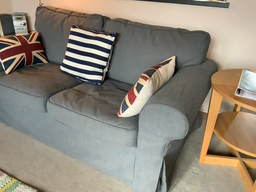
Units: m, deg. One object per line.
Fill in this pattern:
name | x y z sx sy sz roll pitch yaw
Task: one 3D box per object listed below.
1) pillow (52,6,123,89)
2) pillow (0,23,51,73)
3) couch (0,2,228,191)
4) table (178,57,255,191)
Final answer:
pillow | -0.320 -0.360 1.580 0.450 0.400 0.150 38 37 13
pillow | -0.890 -0.400 1.740 0.170 0.310 0.370 52 39 0
couch | -0.340 -0.180 1.650 1.780 0.840 0.920 17 31 24
table | 0.730 0.180 1.340 0.570 0.620 0.580 17 31 24
